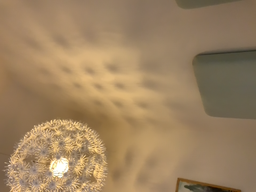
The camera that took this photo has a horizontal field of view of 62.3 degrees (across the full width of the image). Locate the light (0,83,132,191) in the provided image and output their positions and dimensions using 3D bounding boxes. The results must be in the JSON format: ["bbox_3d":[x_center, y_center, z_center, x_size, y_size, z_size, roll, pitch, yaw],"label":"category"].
[{"bbox_3d":[-1.150,0.670,2.350,2.030,0.940,0.910,29,147,-14],"label":"light"}]
